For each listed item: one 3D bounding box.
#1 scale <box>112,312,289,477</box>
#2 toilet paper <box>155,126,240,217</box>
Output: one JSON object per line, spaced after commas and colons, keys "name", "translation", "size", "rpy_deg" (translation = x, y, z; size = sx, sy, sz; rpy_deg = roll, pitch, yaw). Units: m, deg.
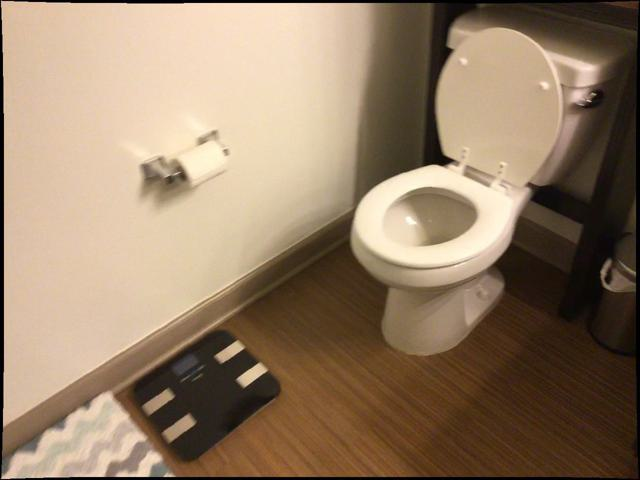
{"name": "scale", "translation": [-0.329, 0.401, 1.580], "size": [0.360, 0.050, 0.330], "rpy_deg": [-31, 48, -25]}
{"name": "toilet paper", "translation": [-0.299, -0.170, 1.420], "size": [0.130, 0.140, 0.130], "rpy_deg": [-31, 47, -25]}
